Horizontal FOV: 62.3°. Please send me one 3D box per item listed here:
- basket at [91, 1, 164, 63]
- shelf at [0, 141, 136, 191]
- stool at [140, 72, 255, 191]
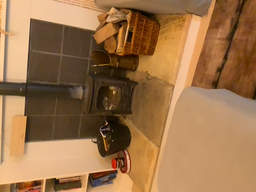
[{"bbox_3d":[-0.030,-0.630,2.130,0.530,0.470,0.450,33,116,57],"label":"basket"},{"bbox_3d":[-0.920,0.890,2.470,0.400,2.050,0.460,35,117,57],"label":"shelf"},{"bbox_3d":[0.580,0.460,1.260,0.870,0.460,0.980,37,119,56],"label":"stool"}]
